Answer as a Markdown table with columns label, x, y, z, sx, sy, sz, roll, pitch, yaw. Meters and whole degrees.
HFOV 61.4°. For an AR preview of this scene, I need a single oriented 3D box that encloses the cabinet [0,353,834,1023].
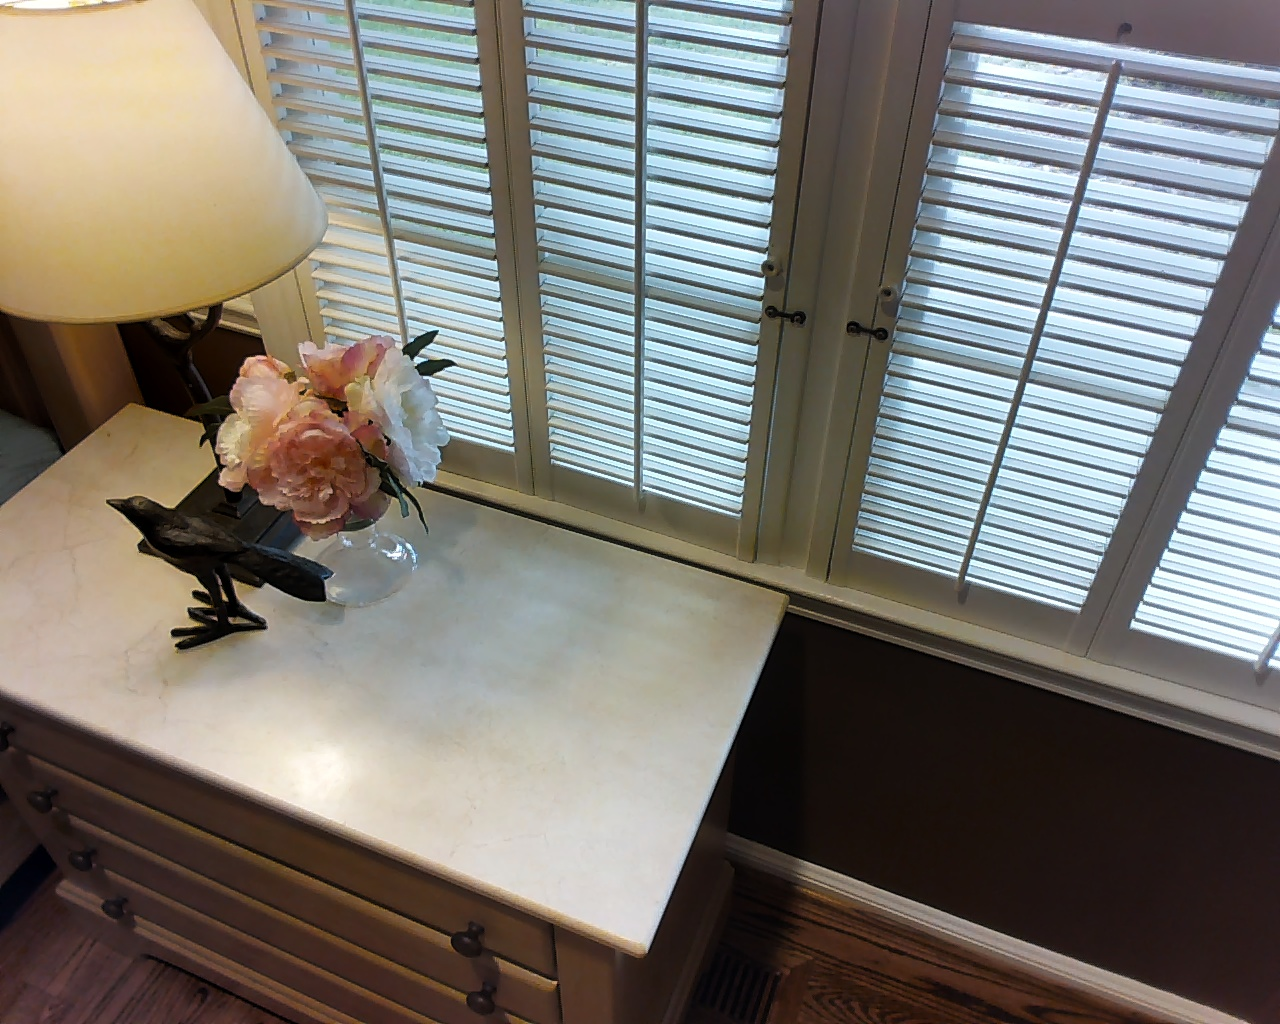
| label | x | y | z | sx | sy | sz | roll | pitch | yaw |
| --- | --- | --- | --- | --- | --- | --- | --- | --- | --- |
| cabinet | -0.330 | 0.350 | 1.440 | 0.970 | 0.760 | 0.520 | 16 | 45 | 16 |
